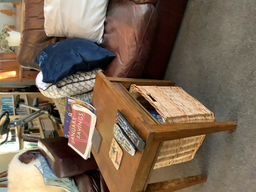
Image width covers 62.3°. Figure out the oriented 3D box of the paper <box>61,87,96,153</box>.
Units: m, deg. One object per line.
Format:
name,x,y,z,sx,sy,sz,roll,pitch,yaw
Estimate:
paper,-0.310,0.140,1.280,0.200,0.110,0.330,46,129,49
